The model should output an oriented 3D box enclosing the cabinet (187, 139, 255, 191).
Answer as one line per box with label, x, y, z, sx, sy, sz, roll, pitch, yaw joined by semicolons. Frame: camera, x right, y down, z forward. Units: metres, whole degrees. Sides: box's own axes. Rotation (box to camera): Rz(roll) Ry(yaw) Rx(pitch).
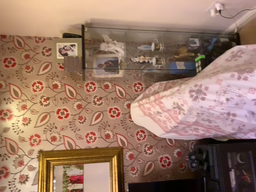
cabinet;0.980;1.340;1.930;0.500;0.530;1.820;137;132;-75
